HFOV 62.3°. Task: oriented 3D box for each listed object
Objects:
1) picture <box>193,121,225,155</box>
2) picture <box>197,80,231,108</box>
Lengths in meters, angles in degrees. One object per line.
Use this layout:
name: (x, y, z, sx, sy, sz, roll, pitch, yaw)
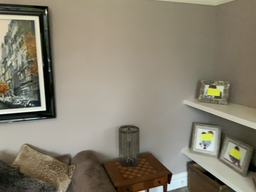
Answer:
picture: (0.940, 0.480, 2.470, 0.270, 0.310, 0.180, -5, 12, -19)
picture: (0.940, -0.030, 2.330, 0.220, 0.250, 0.240, -5, 12, -21)
